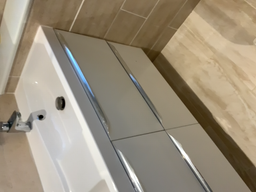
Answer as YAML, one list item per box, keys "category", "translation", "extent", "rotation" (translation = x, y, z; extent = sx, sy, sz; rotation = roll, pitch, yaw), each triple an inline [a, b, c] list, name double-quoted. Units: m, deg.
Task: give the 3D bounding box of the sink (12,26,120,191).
- category: "sink"
  translation: [-0.330, 0.080, 0.930]
  extent: [0.460, 0.110, 0.610]
  rotation: [-52, 57, 33]
